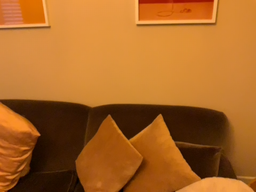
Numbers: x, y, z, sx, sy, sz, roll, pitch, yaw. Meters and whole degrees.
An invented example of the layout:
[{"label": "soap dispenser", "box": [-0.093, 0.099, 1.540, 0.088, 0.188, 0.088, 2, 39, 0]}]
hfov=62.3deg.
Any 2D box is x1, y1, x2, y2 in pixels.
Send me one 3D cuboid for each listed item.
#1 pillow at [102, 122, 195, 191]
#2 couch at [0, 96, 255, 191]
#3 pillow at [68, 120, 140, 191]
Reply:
[{"label": "pillow", "box": [0.100, 0.470, 1.390, 0.200, 0.490, 0.510, 31, -9, -20]}, {"label": "couch", "box": [-0.380, 0.620, 1.460, 2.130, 0.820, 1.150, 2, 21, 8]}, {"label": "pillow", "box": [-0.190, 0.410, 1.460, 0.160, 0.440, 0.530, 26, -16, -25]}]
